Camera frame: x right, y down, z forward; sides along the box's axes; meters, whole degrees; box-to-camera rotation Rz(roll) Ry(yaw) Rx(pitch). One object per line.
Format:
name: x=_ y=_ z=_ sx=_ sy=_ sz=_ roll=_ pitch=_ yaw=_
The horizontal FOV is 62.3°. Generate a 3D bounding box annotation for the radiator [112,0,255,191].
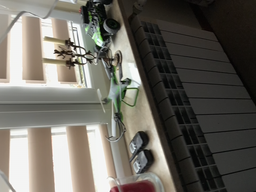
radiator: x=0.410 y=0.050 z=0.990 sx=0.200 sy=0.740 sz=1.080 roll=-52 pitch=46 yaw=48
